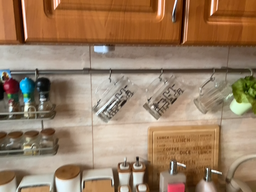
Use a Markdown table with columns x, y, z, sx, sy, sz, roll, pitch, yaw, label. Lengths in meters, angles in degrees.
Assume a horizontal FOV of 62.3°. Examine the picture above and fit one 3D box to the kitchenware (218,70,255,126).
| x | y | z | sx | sy | sz | roll | pitch | yaw | label |
| --- | --- | --- | --- | --- | --- | --- | --- | --- | --- |
| 0.570 | 0.000 | 0.920 | 0.290 | 0.210 | 0.130 | -2 | 13 | -11 | kitchenware |
